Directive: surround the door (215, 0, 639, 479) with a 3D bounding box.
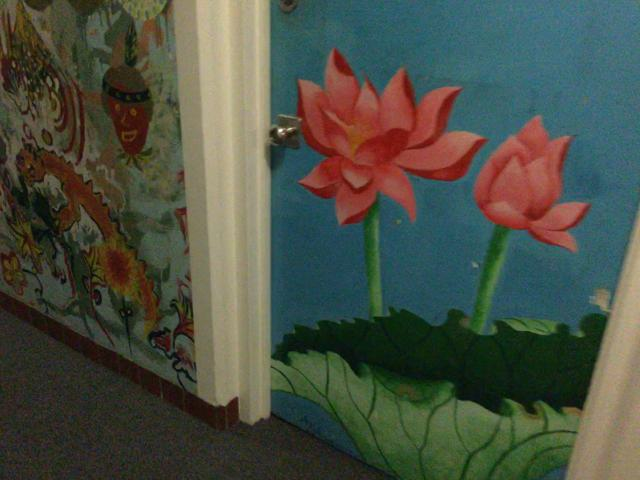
[{"bbox_3d":[0.230,-0.280,1.220,0.910,2.100,0.210,17,24,25],"label":"door"}]
